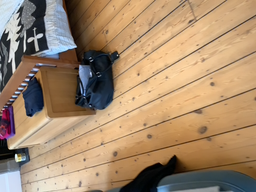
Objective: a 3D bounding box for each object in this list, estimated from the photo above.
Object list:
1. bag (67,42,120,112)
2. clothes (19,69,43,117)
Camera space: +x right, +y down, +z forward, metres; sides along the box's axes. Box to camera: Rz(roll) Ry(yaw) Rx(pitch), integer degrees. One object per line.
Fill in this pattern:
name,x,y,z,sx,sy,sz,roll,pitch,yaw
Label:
bag,-0.330,-0.150,1.920,0.450,0.170,0.460,-31,68,42
clothes,-0.900,-0.020,1.950,0.320,0.070,0.350,-28,70,42
